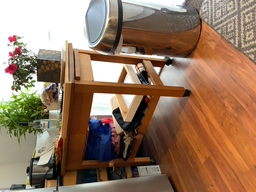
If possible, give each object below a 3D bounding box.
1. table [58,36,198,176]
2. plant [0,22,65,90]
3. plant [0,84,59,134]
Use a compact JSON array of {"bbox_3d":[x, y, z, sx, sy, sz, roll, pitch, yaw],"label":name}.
[{"bbox_3d":[-0.110,0.120,1.770,0.540,0.860,0.960,-110,29,-46],"label":"table"},{"bbox_3d":[-0.570,-0.240,1.310,0.250,0.320,0.300,-111,30,-47],"label":"plant"},{"bbox_3d":[-0.830,0.110,1.730,0.240,0.490,0.310,-110,29,-45],"label":"plant"}]
